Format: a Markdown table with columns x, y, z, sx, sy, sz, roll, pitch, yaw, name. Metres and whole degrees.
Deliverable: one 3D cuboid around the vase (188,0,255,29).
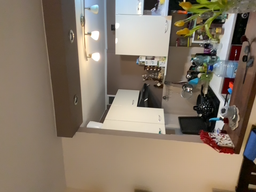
| x | y | z | sx | sy | sz | roll | pitch | yaw | name |
| --- | --- | --- | --- | --- | --- | --- | --- | --- | --- |
| 0.680 | -0.610 | 1.360 | 0.270 | 0.490 | 0.310 | -75 | -12 | -65 | vase |
